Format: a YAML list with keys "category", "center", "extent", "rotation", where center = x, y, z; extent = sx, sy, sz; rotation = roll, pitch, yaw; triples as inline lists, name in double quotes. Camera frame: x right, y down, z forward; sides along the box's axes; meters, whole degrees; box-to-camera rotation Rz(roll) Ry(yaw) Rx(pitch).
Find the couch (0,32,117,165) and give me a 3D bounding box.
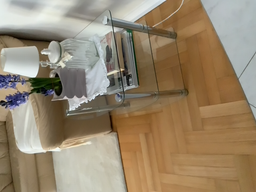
- category: "couch"
  center: [-1.210, 0.170, 2.380]
  extent: [2.200, 0.900, 0.830]
  rotation: [-15, 82, 47]
